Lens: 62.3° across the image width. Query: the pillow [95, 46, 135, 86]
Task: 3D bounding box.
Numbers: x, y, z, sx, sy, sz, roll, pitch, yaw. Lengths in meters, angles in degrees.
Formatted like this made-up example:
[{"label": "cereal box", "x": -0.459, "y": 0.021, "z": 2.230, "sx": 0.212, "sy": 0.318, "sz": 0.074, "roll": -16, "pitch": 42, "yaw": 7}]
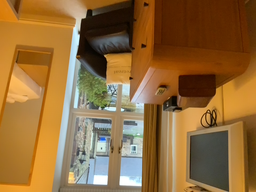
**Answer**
[{"label": "pillow", "x": -0.150, "y": -0.340, "z": 2.390, "sx": 0.390, "sy": 0.370, "sz": 0.100, "roll": 13, "pitch": -163, "yaw": 11}]
